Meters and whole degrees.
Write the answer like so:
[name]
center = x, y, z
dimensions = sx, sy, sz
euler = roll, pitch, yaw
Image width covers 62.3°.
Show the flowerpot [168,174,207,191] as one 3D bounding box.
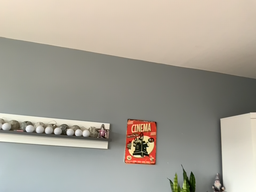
[flowerpot]
center = 0.510, 0.950, 1.840
dimensions = 0.240, 0.480, 0.240
euler = 7, -15, -12
